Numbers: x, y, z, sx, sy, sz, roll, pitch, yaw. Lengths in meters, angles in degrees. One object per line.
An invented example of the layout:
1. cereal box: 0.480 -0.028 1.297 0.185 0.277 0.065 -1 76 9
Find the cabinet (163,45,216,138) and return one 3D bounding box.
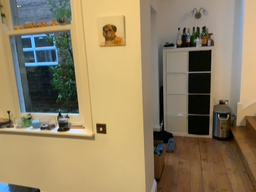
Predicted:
1. cabinet: 1.030 -0.100 3.690 0.800 1.500 0.490 1 12 14
